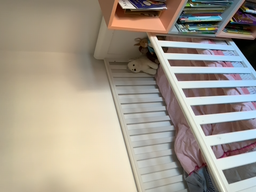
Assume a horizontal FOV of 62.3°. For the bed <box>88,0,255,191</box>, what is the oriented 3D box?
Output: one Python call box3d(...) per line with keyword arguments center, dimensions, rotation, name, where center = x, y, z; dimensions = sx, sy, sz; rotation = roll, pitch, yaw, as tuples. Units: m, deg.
box3d(center=(0.470, 0.000, 1.550), dimensions=(0.610, 1.190, 1.540), rotation=(118, 143, -49), name="bed")
